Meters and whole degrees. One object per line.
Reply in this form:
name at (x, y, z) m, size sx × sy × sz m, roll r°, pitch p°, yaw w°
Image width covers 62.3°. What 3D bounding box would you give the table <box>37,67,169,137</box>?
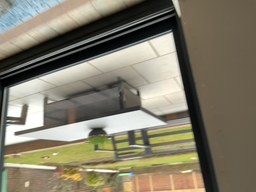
table at (-0.310, 0.160, 2.730) m, size 1.490 × 0.450 × 0.720 m, roll -13°, pitch 160°, yaw 19°
